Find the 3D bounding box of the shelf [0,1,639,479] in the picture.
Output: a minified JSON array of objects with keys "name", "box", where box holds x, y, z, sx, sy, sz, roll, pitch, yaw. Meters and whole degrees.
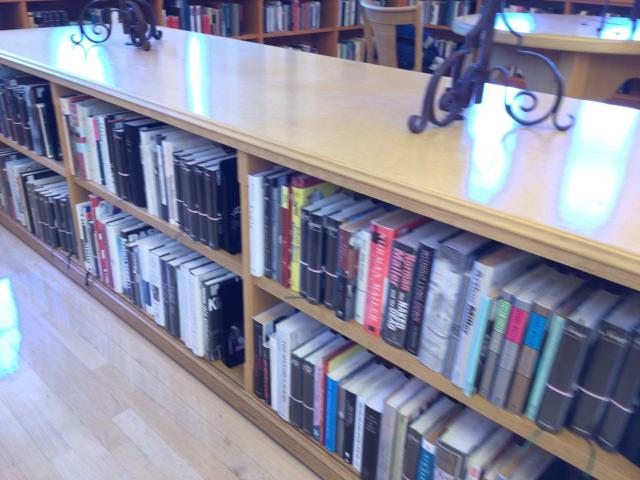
[{"name":"shelf","box":[-0.220,-0.160,1.810,2.680,0.790,0.880,26,31,36]}]
